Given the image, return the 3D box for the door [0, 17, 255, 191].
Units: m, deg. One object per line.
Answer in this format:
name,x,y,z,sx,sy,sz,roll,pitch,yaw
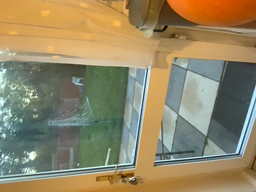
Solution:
door,-0.010,0.090,1.090,0.050,1.990,0.800,-133,47,-63
